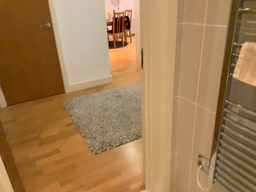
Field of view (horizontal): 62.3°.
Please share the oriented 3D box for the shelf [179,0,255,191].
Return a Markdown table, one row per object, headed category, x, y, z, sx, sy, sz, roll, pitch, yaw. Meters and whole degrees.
| category | x | y | z | sx | sy | sz | roll | pitch | yaw |
| --- | --- | --- | --- | --- | --- | --- | --- | --- | --- |
| shelf | 0.460 | -0.010 | 0.790 | 0.170 | 1.230 | 0.470 | -17 | 29 | -28 |
